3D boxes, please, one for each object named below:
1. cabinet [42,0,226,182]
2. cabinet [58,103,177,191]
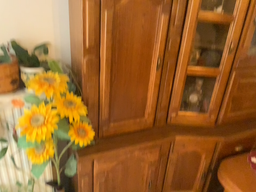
[{"bbox_3d":[-0.030,-0.370,1.070,0.690,1.310,0.610,-7,27,-24],"label":"cabinet"},{"bbox_3d":[-0.120,0.540,1.540,0.630,0.770,0.500,-7,27,-24],"label":"cabinet"}]
